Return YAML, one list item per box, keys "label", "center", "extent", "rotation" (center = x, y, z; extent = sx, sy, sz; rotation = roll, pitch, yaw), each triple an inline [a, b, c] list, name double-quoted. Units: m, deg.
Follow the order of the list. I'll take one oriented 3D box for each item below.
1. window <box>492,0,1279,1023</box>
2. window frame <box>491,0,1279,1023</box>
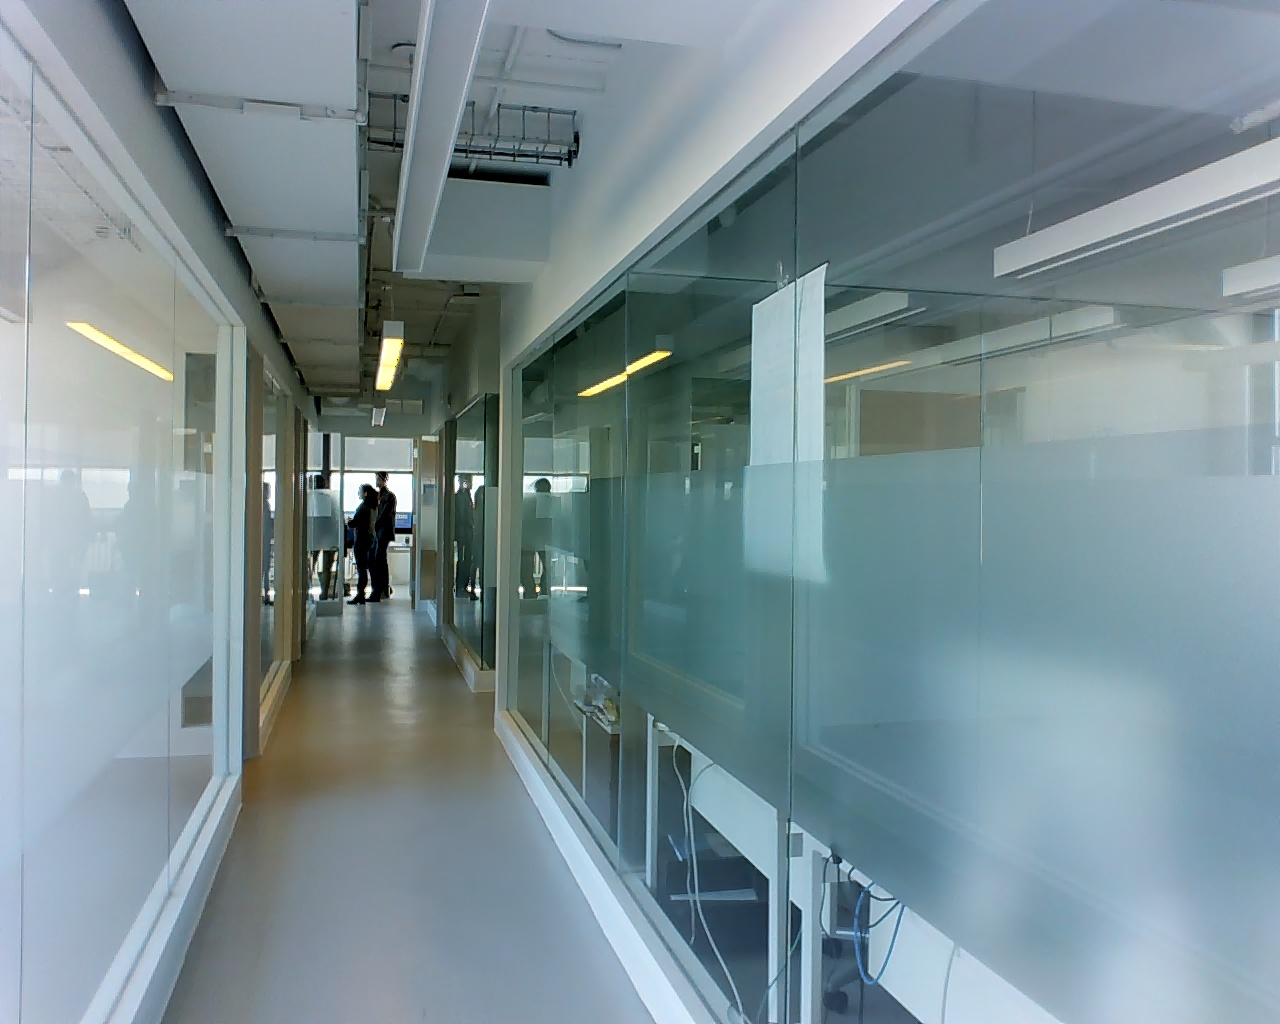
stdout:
- label: "window"
  center: [-0.050, 0.240, 3.730]
  extent: [0.150, 2.080, 6.080]
  rotation: [1, 0, -15]
- label: "window frame"
  center: [-0.030, 0.310, 3.730]
  extent: [0.170, 2.271, 6.260]
  rotation: [1, 0, -15]
